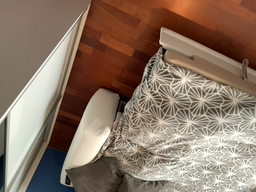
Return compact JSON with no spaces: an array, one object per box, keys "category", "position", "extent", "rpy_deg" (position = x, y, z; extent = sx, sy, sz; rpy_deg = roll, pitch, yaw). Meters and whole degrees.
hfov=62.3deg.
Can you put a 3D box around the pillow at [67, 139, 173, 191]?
[{"category":"pillow","position":[-0.070,0.750,1.790],"extent":[0.770,0.350,0.440],"rpy_deg":[23,132,-11]}]
